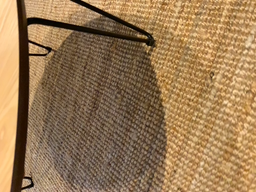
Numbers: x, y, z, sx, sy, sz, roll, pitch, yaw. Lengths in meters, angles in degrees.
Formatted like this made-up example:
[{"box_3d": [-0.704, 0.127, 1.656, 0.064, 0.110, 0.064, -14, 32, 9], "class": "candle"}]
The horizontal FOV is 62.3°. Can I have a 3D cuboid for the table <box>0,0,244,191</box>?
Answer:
[{"box_3d": [-0.300, 0.080, 0.590, 0.800, 0.360, 0.810, 26, 102, 42], "class": "table"}]
